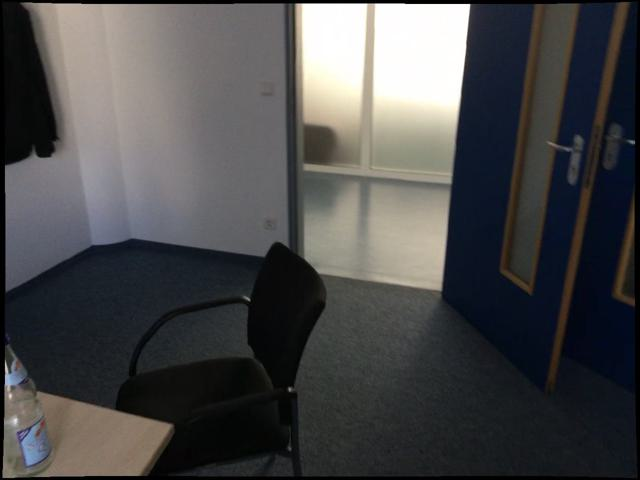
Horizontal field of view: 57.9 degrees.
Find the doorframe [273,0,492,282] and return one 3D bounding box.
[{"bbox_3d":[0.290,-0.911,2.980,1.049,2.282,0.220,10,28,16],"label":"doorframe"}]

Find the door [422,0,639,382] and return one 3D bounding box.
[{"bbox_3d":[0.799,-0.561,2.420,0.260,2.062,0.970,-8,25,-14],"label":"door"}]
